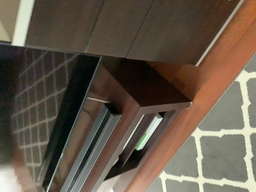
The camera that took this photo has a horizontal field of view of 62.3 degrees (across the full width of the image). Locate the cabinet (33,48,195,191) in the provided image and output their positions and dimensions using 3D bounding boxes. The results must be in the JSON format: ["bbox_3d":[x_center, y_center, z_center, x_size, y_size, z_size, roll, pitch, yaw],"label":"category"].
[{"bbox_3d":[-0.190,0.360,1.560,0.530,0.530,1.230,49,123,32],"label":"cabinet"}]
